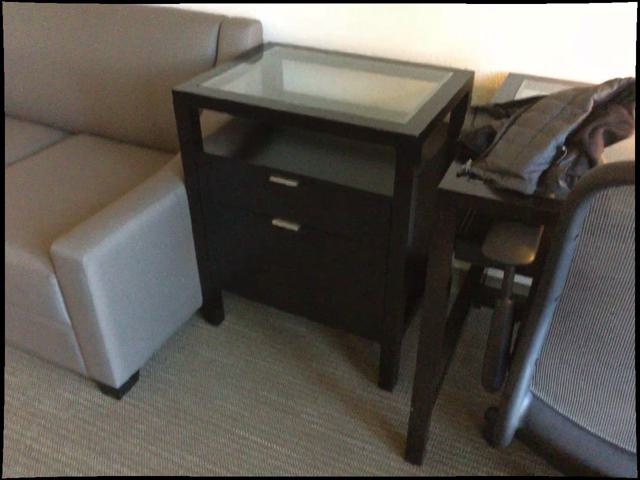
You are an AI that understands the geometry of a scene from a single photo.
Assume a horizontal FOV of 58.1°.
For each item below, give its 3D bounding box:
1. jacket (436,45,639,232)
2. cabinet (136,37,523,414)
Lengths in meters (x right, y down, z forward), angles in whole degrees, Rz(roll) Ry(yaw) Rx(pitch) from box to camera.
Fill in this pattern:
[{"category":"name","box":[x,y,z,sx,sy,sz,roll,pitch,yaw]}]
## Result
[{"category":"jacket","box":[0.489,-0.211,1.110,0.439,0.190,0.340,13,37,19]},{"category":"cabinet","box":[0.060,-0.090,1.770,0.878,0.811,0.600,12,37,19]}]
